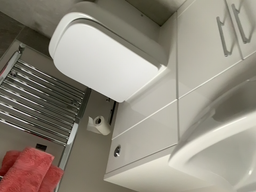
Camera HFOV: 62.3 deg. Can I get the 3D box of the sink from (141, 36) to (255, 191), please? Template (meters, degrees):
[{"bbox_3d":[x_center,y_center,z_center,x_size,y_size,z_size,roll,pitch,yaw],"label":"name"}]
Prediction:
[{"bbox_3d":[0.380,0.070,0.550,0.400,0.190,0.580,29,139,-23],"label":"sink"}]

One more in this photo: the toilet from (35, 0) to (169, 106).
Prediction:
[{"bbox_3d":[-0.100,-0.310,1.100,0.490,0.450,0.370,29,139,-23],"label":"toilet"}]
